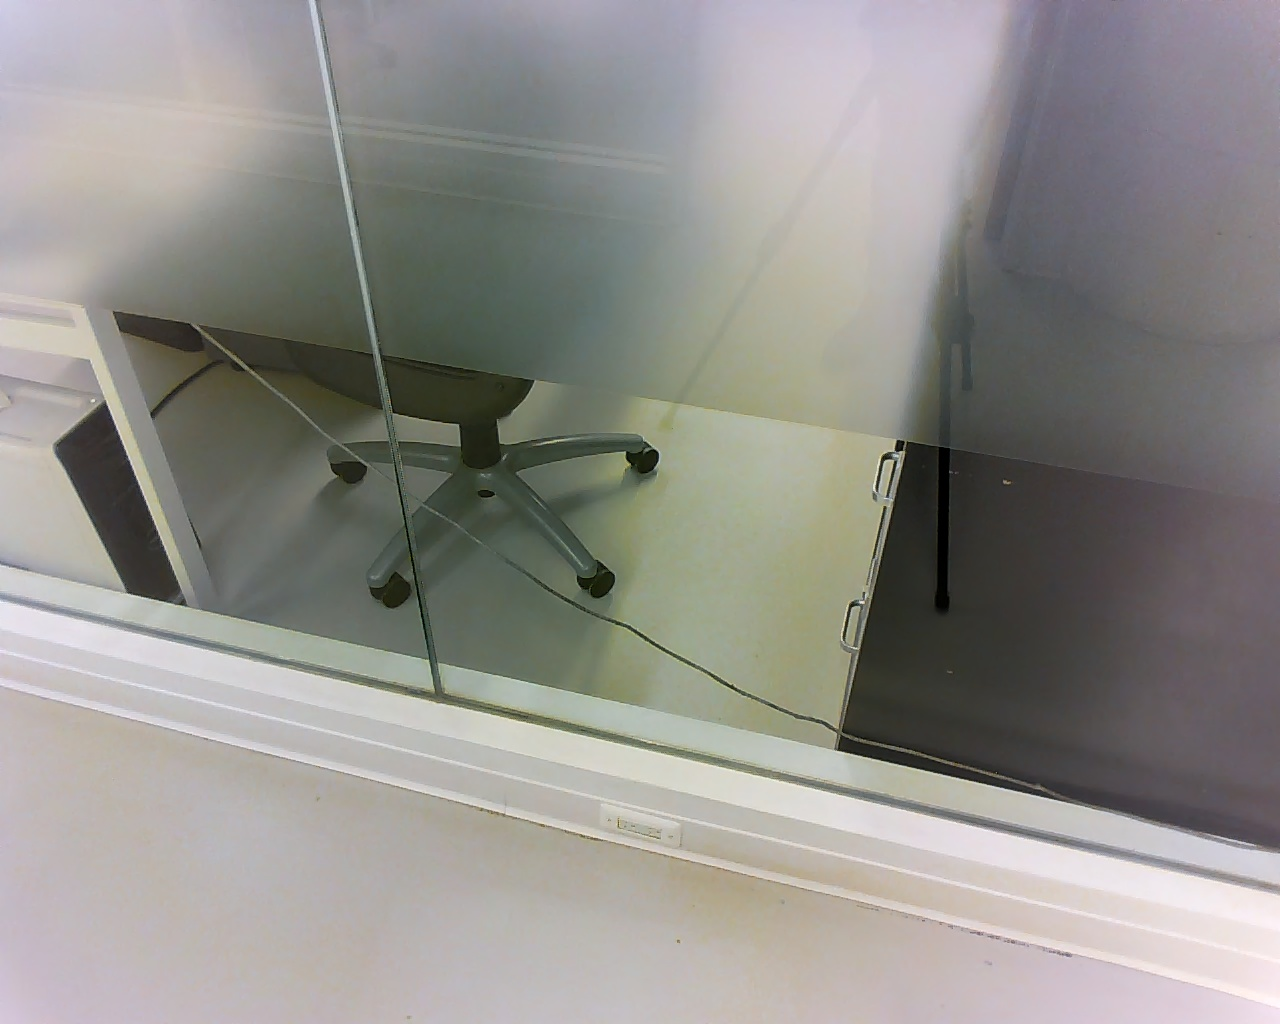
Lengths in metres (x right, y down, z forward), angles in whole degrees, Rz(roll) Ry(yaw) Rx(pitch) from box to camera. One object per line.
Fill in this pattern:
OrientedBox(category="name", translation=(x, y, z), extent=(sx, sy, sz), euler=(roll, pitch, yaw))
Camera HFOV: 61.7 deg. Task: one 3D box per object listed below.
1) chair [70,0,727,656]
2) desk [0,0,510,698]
OrientedBox(category="chair", translation=(-0.280, -0.500, 1.930), extent=(0.680, 1.120, 0.880), euler=(10, 43, 10))
OrientedBox(category="desk", translation=(-0.970, -0.510, 2.190), extent=(0.910, 0.760, 1.450), euler=(10, 43, 10))
